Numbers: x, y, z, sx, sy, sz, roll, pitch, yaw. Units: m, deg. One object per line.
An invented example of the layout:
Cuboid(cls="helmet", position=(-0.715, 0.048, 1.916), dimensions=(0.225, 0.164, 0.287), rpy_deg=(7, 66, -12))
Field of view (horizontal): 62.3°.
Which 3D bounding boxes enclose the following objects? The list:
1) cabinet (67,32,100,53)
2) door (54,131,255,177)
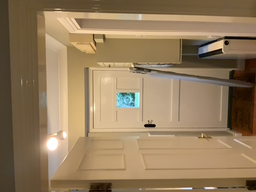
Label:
Cuboid(cls="cabinet", position=(-0.440, -0.540, 2.220), dimensions=(0.730, 0.230, 0.090), rpy_deg=(-126, 36, -84))
Cuboid(cls="door", position=(0.590, 0.350, 1.460), dimensions=(0.740, 1.950, 0.050), rpy_deg=(-140, 50, -86))
